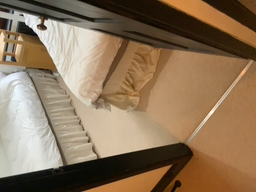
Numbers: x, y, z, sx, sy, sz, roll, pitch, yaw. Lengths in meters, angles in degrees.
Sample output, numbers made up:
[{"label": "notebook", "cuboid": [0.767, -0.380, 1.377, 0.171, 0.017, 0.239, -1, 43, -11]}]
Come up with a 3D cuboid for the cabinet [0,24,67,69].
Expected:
[{"label": "cabinet", "cuboid": [-1.380, -0.680, 3.020, 0.340, 0.840, 0.370, 49, 123, 38]}]

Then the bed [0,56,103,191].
[{"label": "bed", "cuboid": [-1.270, 0.460, 2.970, 2.020, 0.690, 1.020, 51, 124, 36]}]
